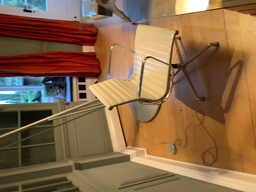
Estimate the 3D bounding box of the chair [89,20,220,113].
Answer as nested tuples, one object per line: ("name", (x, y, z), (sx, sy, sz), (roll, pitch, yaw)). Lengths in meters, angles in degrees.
("chair", (0.180, -0.250, 1.720), (0.530, 0.820, 0.570), (35, 121, 57))
